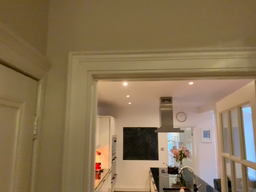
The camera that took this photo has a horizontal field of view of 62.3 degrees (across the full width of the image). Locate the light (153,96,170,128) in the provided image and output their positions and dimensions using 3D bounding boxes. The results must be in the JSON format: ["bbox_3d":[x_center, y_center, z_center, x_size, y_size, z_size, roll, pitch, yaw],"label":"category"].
[{"bbox_3d":[0.750,0.370,4.760,0.310,0.360,0.680,-4,-100,6],"label":"light"}]
